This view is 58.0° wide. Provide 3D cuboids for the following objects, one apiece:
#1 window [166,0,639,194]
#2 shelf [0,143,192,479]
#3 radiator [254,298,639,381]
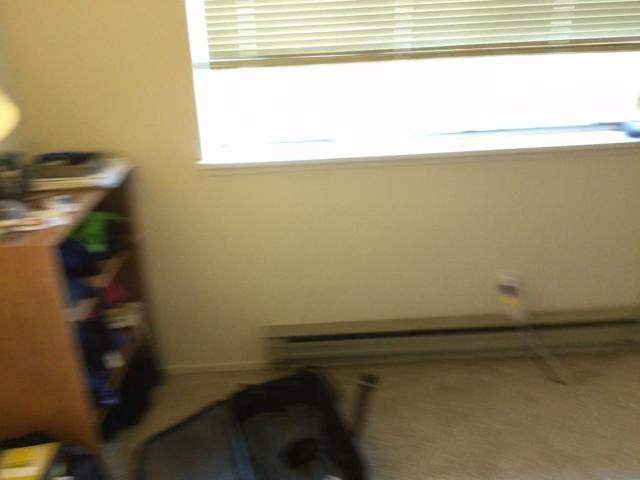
[{"bbox_3d":[0.450,-0.800,1.700,1.810,1.230,0.110,-4,24,3],"label":"window"},{"bbox_3d":[-0.750,0.260,1.830,0.380,0.950,0.690,-4,24,3],"label":"shelf"},{"bbox_3d":[0.570,0.380,2.220,1.620,0.210,0.090,-4,24,3],"label":"radiator"}]
